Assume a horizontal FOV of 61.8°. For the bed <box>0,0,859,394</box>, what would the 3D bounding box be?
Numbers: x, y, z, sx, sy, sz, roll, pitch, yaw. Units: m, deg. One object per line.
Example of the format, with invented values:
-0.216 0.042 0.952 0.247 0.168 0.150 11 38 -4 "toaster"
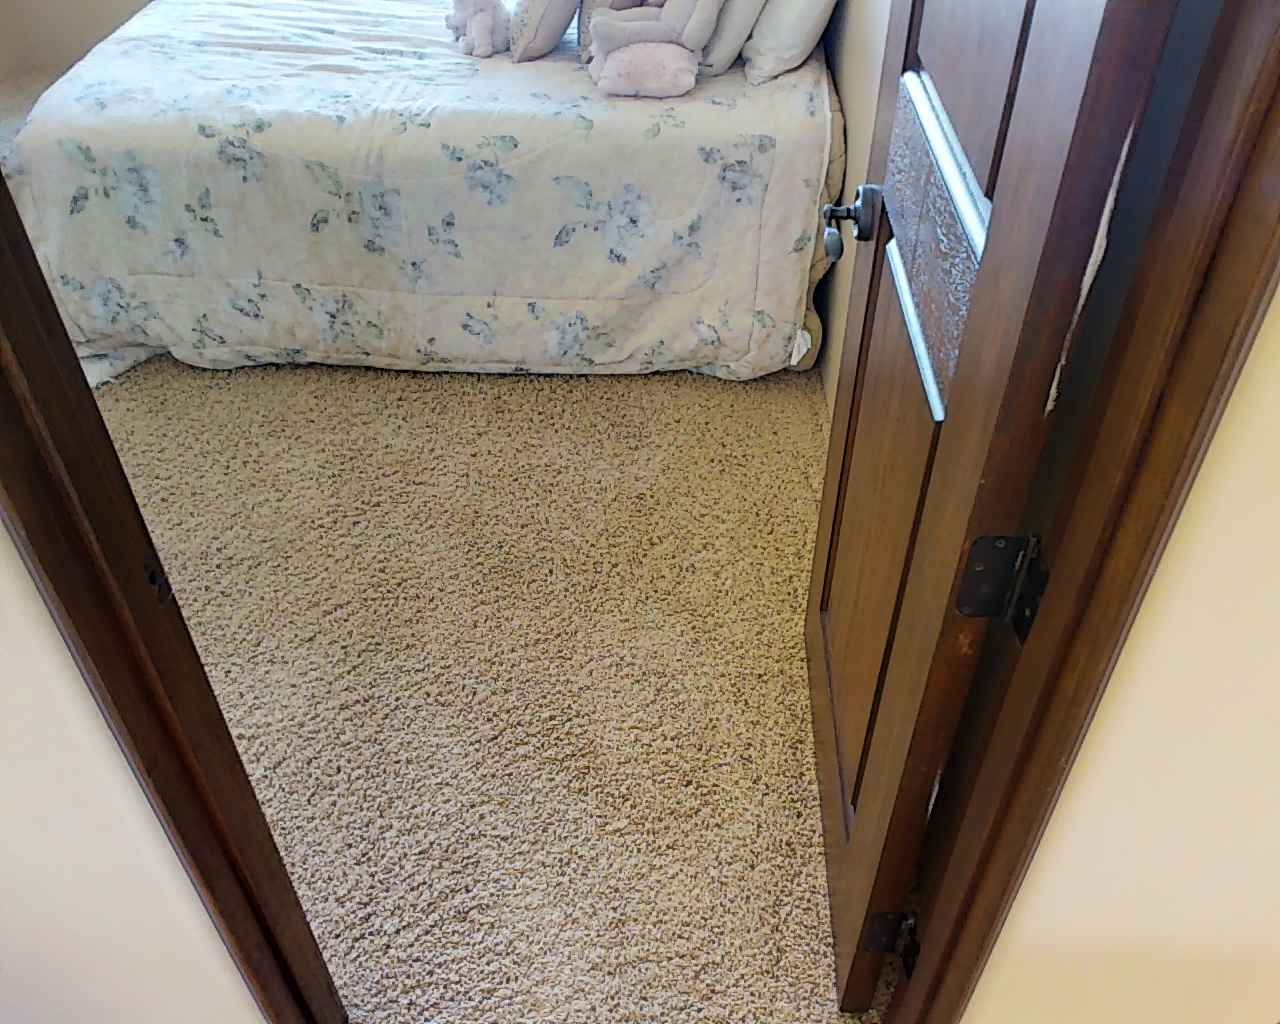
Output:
-0.550 -1.100 3.050 2.071 0.670 1.600 1 42 2 "bed"
